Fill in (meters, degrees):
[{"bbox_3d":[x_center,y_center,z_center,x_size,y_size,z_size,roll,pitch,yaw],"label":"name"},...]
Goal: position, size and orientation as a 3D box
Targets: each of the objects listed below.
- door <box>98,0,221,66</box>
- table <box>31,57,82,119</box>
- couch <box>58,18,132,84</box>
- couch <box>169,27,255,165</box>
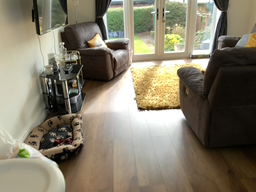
[{"bbox_3d":[0.680,-1.920,4.710,2.640,2.360,0.250,-3,24,-1],"label":"door"},{"bbox_3d":[-0.890,-0.130,2.780,0.400,0.600,0.620,-3,24,-1],"label":"table"},{"bbox_3d":[-0.530,-0.920,4.050,0.850,0.970,1.170,6,25,18],"label":"couch"},{"bbox_3d":[1.070,-0.110,2.090,1.050,0.940,1.100,-4,24,-3],"label":"couch"}]
